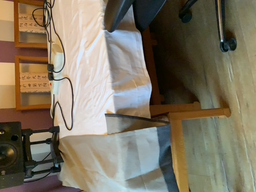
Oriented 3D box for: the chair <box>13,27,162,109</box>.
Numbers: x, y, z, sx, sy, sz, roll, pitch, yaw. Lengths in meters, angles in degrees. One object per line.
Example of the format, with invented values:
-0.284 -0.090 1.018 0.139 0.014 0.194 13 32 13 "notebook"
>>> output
-0.310 -0.160 1.630 0.520 0.970 0.380 -23 73 57 "chair"
